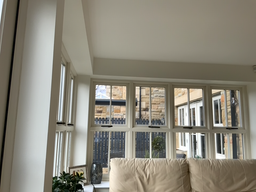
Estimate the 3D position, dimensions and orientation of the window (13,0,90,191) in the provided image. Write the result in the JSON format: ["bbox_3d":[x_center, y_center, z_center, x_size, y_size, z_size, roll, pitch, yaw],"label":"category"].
[{"bbox_3d":[-0.550,0.270,1.990,0.200,1.540,1.880,2,-8,-6],"label":"window"}]
